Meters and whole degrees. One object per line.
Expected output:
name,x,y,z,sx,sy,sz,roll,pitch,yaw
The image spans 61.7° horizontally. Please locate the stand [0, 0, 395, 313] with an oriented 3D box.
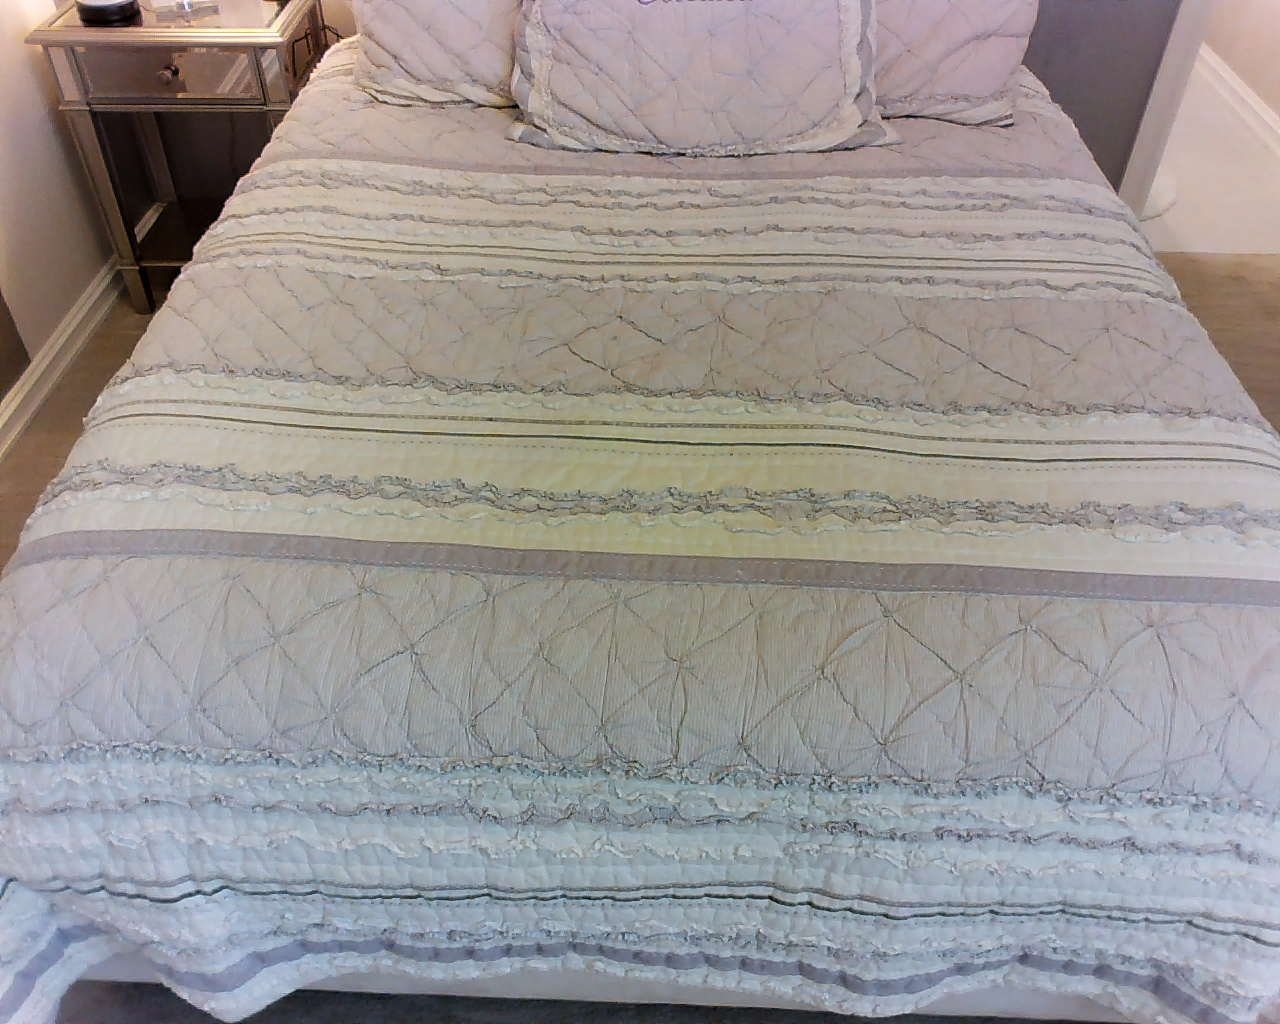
stand,-1.030,-0.940,2.660,0.650,0.710,0.490,2,43,0
